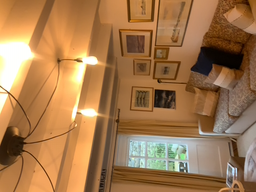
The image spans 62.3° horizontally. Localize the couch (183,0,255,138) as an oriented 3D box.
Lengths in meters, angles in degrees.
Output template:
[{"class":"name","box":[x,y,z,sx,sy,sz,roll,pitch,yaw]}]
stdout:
[{"class":"couch","box":[1.420,-0.380,2.930,2.270,0.810,1.160,86,-172,-60]}]
